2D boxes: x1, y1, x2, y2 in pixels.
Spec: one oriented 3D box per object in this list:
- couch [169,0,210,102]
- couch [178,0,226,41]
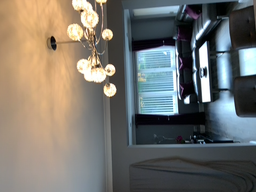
[{"bbox_3d":[1.730,-1.240,6.140,1.100,0.810,2.770,27,-119,-85],"label":"couch"},{"bbox_3d":[1.660,-2.100,4.980,1.300,0.700,1.180,31,-123,-84],"label":"couch"}]
